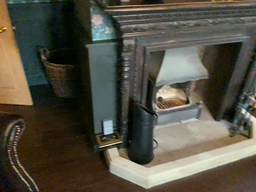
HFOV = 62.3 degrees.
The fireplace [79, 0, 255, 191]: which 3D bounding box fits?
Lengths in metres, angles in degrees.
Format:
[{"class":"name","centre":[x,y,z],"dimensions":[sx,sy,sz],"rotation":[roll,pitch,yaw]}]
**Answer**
[{"class":"fireplace","centre":[0.590,-0.220,1.920],"dimensions":[1.780,1.300,1.110],"rotation":[-10,36,-18]}]
